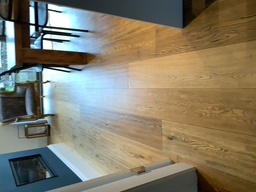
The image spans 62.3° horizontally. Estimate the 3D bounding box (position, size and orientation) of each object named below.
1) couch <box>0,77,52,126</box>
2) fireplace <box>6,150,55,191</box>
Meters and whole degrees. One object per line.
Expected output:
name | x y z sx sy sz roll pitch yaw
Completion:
couch | -2.010 0.110 4.090 0.680 0.820 0.740 -30 67 53
fireplace | -1.260 1.030 2.670 0.910 0.420 0.390 4 95 56
